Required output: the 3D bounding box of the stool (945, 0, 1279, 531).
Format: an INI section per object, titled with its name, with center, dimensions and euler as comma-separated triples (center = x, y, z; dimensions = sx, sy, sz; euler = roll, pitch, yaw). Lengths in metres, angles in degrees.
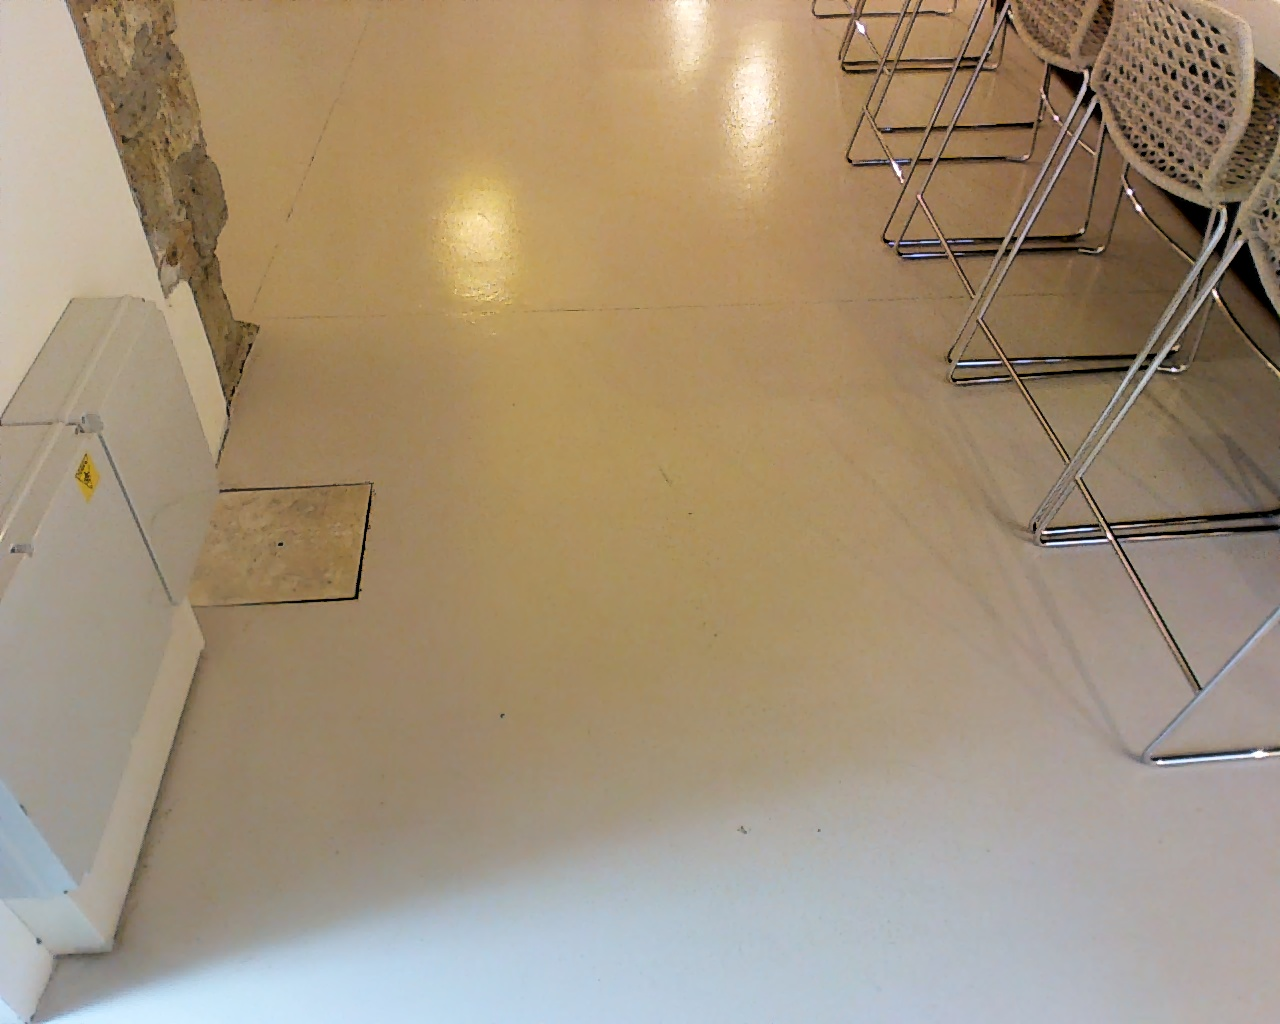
[stool]
center = 0.990, -0.510, 1.950
dimensions = 0.540, 0.950, 0.530
euler = -4, 43, -4
